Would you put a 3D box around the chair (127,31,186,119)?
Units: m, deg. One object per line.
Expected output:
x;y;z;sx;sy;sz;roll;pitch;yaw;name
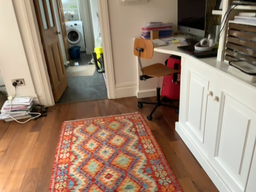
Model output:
0.330;-0.270;2.520;0.530;0.880;0.380;-16;27;-27;chair

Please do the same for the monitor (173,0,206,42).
0.650;-0.900;2.330;0.050;0.490;0.660;-9;24;-8;monitor
